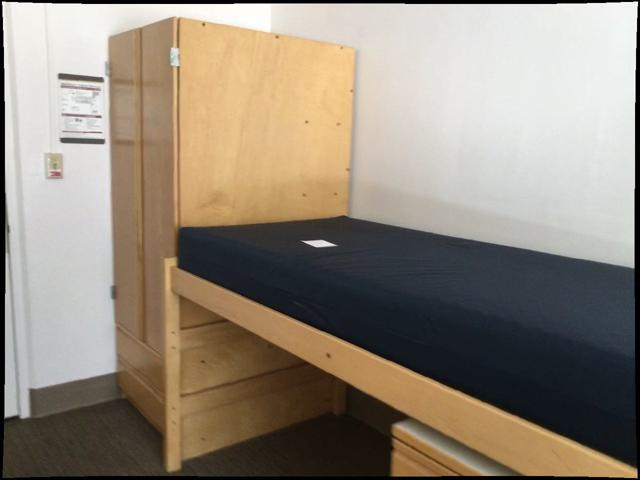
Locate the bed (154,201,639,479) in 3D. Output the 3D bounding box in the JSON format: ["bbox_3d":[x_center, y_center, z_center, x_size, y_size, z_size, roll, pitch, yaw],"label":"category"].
[{"bbox_3d":[0.400,0.551,1.890,1.059,1.061,2.139,-6,14,-38],"label":"bed"}]
